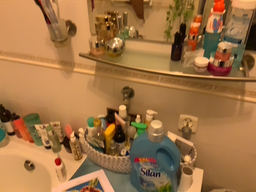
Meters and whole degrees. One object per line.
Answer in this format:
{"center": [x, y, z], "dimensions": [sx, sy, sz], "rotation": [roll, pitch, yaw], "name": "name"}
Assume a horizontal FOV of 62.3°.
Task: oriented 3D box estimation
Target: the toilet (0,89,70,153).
{"center": [-0.580, 0.140, 1.230], "dimensions": [0.440, 0.270, 0.120], "rotation": [11, 35, 16], "name": "toilet"}
